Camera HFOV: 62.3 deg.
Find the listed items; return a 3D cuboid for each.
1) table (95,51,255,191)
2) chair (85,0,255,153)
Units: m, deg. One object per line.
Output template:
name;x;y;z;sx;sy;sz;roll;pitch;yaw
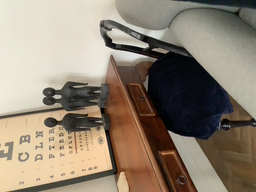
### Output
table;0.320;0.320;1.230;1.190;0.750;0.550;-113;31;-44
chair;0.260;-0.070;1.170;0.530;0.890;0.560;175;94;-68
